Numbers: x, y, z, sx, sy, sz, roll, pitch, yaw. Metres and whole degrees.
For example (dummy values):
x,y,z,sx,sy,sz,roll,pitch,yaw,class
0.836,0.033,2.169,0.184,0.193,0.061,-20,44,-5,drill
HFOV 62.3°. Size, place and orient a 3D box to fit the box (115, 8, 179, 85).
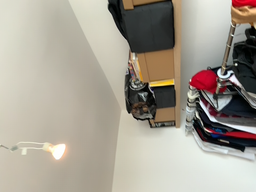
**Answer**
x,y,z,sx,sy,sz,roll,pitch,yaw,class
0.180,-0.360,1.700,0.520,0.430,0.310,69,-157,-59,box
